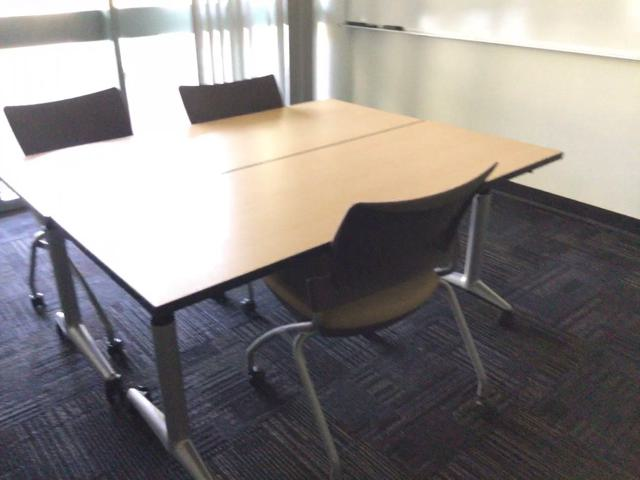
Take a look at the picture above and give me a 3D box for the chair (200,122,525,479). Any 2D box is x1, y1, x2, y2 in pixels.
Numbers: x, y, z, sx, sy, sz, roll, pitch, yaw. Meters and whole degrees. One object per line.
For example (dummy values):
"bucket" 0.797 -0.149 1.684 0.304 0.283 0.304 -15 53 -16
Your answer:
"chair" 0.070 0.150 1.770 0.570 0.860 0.730 -13 26 -34

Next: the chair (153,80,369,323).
"chair" -0.260 -0.220 2.520 0.690 0.850 0.560 -13 26 -34
